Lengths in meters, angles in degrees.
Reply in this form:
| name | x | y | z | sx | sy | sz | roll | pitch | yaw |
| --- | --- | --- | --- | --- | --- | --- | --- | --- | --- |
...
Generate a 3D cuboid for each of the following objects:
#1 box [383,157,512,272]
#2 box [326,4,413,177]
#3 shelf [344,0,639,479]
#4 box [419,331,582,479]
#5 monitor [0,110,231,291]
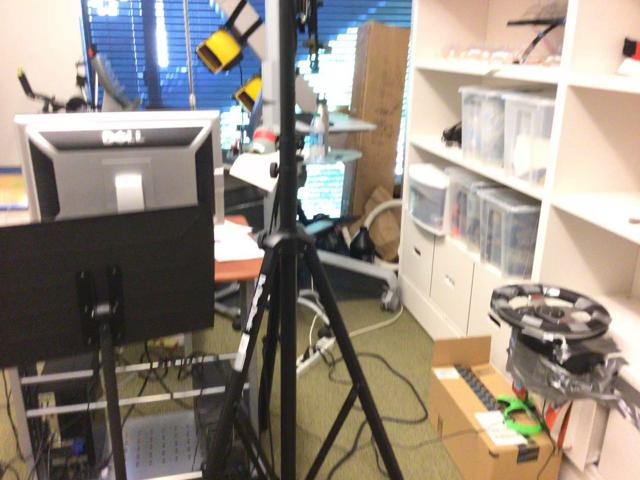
| name | x | y | z | sx | sy | sz | roll | pitch | yaw |
| --- | --- | --- | --- | --- | --- | --- | --- | --- | --- |
| box | 0.570 | -0.140 | 2.710 | 0.390 | 0.420 | 0.500 | -2 | 16 | -12 |
| box | 0.300 | -0.940 | 3.710 | 0.440 | 1.020 | 0.330 | -2 | 16 | -12 |
| shelf | 0.930 | -0.230 | 1.120 | 0.760 | 2.430 | 3.910 | -2 | 16 | -12 |
| box | 0.570 | 0.580 | 1.940 | 0.280 | 0.340 | 0.510 | -2 | 16 | -12 |
| monitor | -0.520 | -0.120 | 1.530 | 0.530 | 0.430 | 0.170 | -4 | 17 | -16 |
